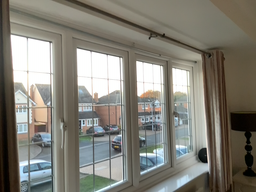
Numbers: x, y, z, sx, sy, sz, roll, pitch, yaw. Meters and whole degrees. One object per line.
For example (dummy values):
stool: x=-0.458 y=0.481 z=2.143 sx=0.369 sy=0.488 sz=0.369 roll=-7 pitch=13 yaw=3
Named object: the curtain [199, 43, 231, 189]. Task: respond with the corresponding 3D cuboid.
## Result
curtain: x=0.910 y=0.190 z=2.210 sx=0.160 sy=1.400 sz=0.310 roll=-4 pitch=-3 yaw=40
